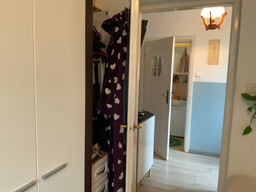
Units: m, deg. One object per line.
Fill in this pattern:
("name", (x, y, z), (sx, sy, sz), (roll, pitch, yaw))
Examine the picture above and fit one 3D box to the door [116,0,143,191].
("door", (0.020, 0.300, 1.650), (0.110, 2.050, 0.770), (2, 7, 4))
